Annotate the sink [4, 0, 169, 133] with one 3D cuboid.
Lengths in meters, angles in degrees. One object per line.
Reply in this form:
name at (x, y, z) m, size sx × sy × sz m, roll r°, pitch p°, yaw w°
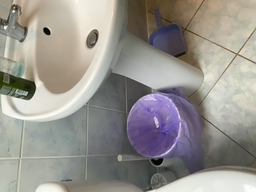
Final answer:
sink at (-0.150, -0.210, 0.630) m, size 0.450 × 0.170 × 0.580 m, roll -15°, pitch 70°, yaw 36°
